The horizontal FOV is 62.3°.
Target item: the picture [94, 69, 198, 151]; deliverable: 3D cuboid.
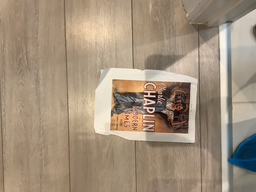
[{"bbox_3d":[0.050,0.040,0.620,0.290,0.050,0.230,1,91,-2],"label":"picture"}]
